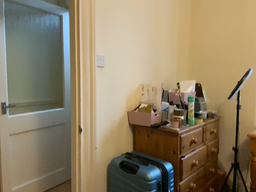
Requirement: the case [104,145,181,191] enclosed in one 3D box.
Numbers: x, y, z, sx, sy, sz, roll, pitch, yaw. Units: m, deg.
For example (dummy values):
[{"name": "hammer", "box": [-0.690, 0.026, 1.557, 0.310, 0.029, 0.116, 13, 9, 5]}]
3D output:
[{"name": "case", "box": [0.100, 0.780, 1.610, 0.460, 0.640, 0.350, 5, 7, 41]}]
